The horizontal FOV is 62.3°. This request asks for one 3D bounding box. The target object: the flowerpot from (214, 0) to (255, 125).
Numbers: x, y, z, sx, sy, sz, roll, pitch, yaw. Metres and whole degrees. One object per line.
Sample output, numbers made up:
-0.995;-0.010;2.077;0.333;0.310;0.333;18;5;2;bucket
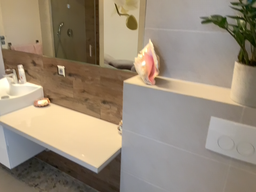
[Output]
0.580;-0.190;0.900;0.270;0.600;0.180;15;24;29;flowerpot
